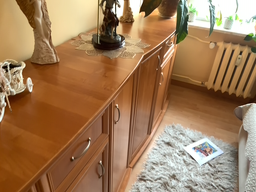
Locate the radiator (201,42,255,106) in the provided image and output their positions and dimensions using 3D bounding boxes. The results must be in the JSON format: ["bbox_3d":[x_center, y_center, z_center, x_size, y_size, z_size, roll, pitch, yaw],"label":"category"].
[{"bbox_3d":[1.200,-0.260,2.460,0.500,0.580,0.210,22,37,24],"label":"radiator"}]

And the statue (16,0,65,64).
[{"bbox_3d":[-0.380,-0.330,0.940,0.080,0.330,0.160,19,36,21],"label":"statue"}]
